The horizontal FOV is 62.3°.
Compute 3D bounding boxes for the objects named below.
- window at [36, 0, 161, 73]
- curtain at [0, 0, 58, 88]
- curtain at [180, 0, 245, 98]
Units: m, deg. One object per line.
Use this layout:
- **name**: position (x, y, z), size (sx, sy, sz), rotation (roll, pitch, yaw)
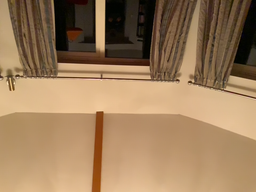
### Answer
- **window**: position (-0.350, -0.870, 2.680), size (1.470, 1.140, 0.090), rotation (0, -159, -8)
- **curtain**: position (-1.040, -1.040, 2.090), size (0.530, 1.940, 0.240), rotation (0, -159, -10)
- **curtain**: position (0.910, -0.950, 2.130), size (0.430, 1.890, 0.240), rotation (19, -154, 34)
